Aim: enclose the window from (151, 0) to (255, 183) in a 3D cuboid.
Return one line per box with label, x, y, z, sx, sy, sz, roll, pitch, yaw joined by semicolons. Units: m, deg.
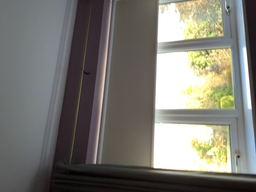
window;0.570;-0.150;1.740;0.070;0.690;1.540;49;-137;-65
